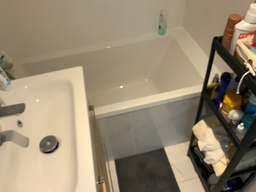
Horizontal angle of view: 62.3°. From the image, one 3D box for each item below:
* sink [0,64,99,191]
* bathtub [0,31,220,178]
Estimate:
[{"bbox_3d":[-0.340,0.170,0.760,0.410,0.120,0.650,-12,48,-5],"label":"sink"},{"bbox_3d":[-0.160,0.050,1.660,1.350,0.620,0.680,-10,48,-4],"label":"bathtub"}]
